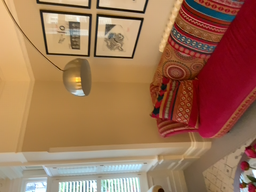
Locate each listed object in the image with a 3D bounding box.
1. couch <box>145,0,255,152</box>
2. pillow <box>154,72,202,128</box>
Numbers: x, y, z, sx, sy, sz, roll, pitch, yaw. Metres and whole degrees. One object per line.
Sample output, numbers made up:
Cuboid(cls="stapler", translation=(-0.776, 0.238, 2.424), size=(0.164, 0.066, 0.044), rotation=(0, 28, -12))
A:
Cuboid(cls="couch", translation=(0.890, -0.470, 1.890), size=(2.470, 0.780, 1.000), rotation=(106, 161, -52))
Cuboid(cls="pillow", translation=(0.570, 0.050, 2.390), size=(0.180, 0.410, 0.520), rotation=(6, 78, 57))
